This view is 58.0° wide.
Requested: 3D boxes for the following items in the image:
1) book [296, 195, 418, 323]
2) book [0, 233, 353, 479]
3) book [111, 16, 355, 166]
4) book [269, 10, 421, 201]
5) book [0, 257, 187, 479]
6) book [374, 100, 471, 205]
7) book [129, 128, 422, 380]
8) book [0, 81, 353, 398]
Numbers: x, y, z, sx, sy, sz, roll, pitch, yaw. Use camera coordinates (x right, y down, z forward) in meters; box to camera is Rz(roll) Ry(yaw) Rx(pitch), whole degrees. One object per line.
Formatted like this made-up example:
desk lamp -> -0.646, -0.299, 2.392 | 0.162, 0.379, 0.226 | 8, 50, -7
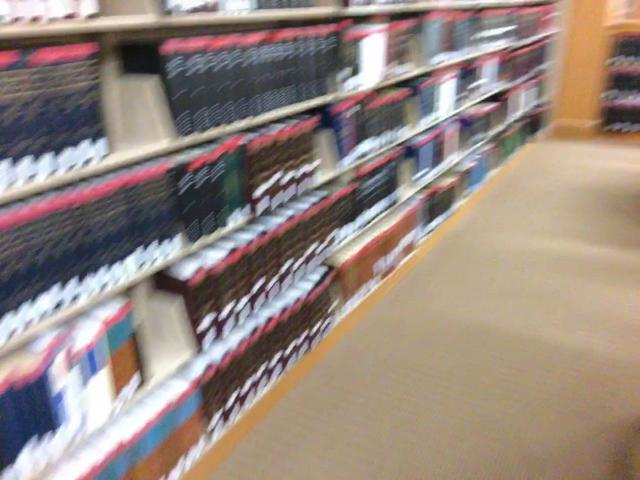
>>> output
book -> 0.220, 0.060, 2.910 | 0.250, 0.300, 0.830 | 9, 27, 29
book -> -0.430, 0.490, 1.840 | 0.250, 0.340, 1.810 | 9, 27, 29
book -> -0.200, -0.540, 1.920 | 0.160, 0.290, 1.040 | 9, 27, 29
book -> 0.170, -0.650, 2.620 | 0.240, 0.650, 0.930 | 9, 27, 29
book -> -0.710, 0.380, 1.330 | 0.250, 0.340, 0.830 | 9, 27, 29
book -> 0.650, -0.560, 3.470 | 0.190, 0.340, 1.080 | 9, 27, 29
book -> -0.010, -0.090, 2.460 | 0.250, 0.350, 1.790 | 9, 27, 29
book -> -0.460, -0.110, 1.650 | 0.280, 0.360, 1.840 | 9, 27, 29
